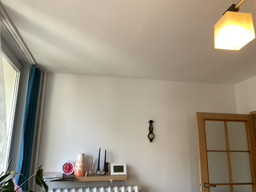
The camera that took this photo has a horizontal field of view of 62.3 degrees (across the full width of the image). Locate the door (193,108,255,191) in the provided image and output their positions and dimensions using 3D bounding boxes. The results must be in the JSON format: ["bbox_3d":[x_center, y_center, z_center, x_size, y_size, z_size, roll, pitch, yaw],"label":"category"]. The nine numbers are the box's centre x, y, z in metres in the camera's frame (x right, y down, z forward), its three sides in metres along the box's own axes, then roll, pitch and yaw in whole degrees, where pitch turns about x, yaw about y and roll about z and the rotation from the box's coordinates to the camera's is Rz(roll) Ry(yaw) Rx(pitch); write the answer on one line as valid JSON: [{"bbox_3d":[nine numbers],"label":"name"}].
[{"bbox_3d":[1.320,1.230,2.610,0.920,2.120,0.110,3,-14,-8],"label":"door"}]
